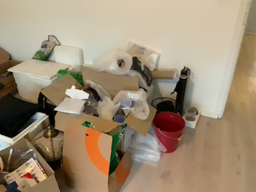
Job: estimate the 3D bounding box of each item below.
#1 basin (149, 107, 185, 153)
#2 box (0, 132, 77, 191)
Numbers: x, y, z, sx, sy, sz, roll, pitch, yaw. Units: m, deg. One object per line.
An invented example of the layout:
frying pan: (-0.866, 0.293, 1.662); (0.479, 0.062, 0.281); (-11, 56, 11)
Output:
basin: (0.340, 0.300, 1.910); (0.270, 0.300, 0.250); (4, 31, 6)
box: (-0.670, 0.550, 1.440); (0.450, 0.290, 0.550); (3, 31, 5)
